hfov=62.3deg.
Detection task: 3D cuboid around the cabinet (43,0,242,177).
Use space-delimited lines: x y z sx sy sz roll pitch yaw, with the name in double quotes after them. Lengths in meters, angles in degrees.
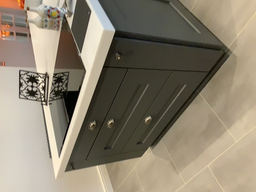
-0.050 -0.050 1.600 0.600 0.910 1.260 63 141 35 "cabinet"
